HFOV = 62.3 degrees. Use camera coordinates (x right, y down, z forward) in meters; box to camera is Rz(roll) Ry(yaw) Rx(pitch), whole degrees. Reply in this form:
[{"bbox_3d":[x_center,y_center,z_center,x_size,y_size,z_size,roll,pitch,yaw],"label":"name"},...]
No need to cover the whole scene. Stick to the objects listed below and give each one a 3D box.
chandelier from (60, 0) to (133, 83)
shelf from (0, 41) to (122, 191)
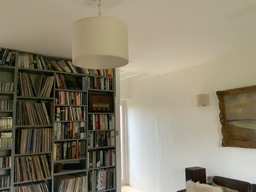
[{"bbox_3d":[-0.200,-0.430,1.510,0.340,0.580,0.430,-3,173,19],"label":"chandelier"},{"bbox_3d":[-1.090,0.660,3.000,2.090,2.630,0.350,3,172,-33],"label":"shelf"}]
